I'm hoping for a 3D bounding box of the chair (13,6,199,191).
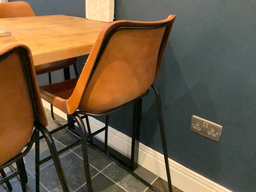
[{"bbox_3d":[-0.110,0.140,0.980,0.440,0.990,0.520,-21,34,-38],"label":"chair"}]
